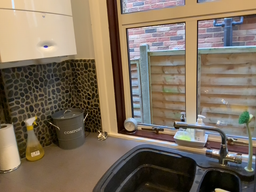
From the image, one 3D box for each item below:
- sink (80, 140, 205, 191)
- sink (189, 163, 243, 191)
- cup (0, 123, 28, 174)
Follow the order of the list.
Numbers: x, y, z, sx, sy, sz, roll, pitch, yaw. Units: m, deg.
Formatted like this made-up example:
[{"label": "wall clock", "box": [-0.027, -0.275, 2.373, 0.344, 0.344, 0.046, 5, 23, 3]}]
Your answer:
[{"label": "sink", "box": [0.110, 0.460, 1.030, 0.410, 0.230, 0.510, 4, 17, 29]}, {"label": "sink", "box": [0.370, 0.420, 0.890, 0.180, 0.110, 0.270, 4, 17, 29]}, {"label": "cup", "box": [-0.640, 0.270, 1.120, 0.090, 0.220, 0.140, -2, 13, 20]}]
